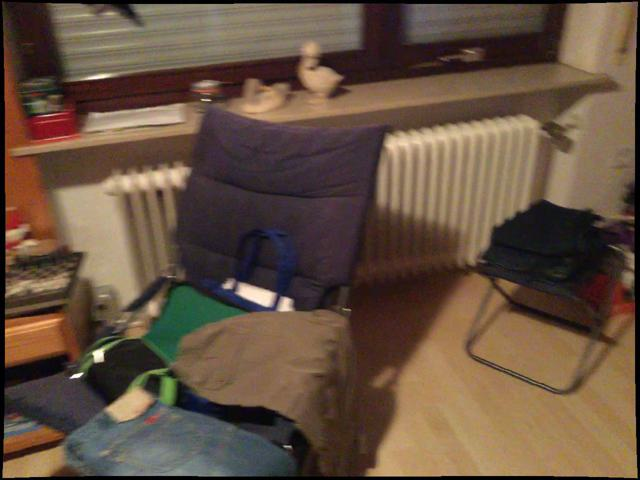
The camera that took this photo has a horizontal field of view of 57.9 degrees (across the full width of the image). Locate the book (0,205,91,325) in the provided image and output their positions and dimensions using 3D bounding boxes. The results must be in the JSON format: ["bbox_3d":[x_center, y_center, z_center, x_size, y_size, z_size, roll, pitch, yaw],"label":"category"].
[{"bbox_3d":[-0.809,0.060,1.640,0.250,0.130,0.380,-11,31,-12],"label":"book"}]
